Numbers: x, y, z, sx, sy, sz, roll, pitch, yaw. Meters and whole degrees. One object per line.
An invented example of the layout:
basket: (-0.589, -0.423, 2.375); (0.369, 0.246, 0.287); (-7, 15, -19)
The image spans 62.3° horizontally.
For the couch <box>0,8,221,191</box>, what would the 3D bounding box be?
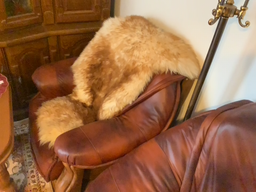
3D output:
couch: (-0.240, 0.050, 1.460); (0.930, 0.930, 1.020); (-13, 42, -24)
